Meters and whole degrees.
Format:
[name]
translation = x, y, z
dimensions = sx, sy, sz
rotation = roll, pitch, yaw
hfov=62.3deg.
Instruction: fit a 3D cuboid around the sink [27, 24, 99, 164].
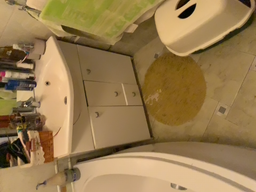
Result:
[sink]
translation = -0.490, 0.010, 1.480
dimensions = 0.510, 0.160, 0.810
rotation = -29, 69, 42
